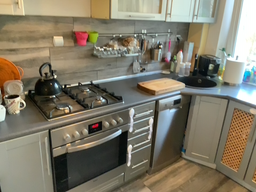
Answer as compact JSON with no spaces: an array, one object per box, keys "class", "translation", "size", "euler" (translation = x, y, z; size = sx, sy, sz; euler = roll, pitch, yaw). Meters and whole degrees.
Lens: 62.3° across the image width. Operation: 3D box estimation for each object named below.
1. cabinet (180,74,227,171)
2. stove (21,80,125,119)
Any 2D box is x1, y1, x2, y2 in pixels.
[{"class":"cabinet","translation":[0.860,0.250,2.390],"size":[0.290,0.840,0.690],"euler":[12,23,22]},{"class":"stove","translation":[-0.430,-0.010,1.650],"size":[0.620,0.020,0.520],"euler":[-13,26,-36]}]
